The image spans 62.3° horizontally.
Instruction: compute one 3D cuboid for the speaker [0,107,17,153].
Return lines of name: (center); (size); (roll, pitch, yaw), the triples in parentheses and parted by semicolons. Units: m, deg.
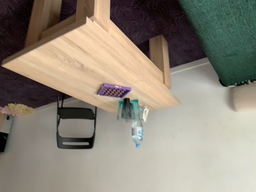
speaker: (-2.140, 0.580, 3.530); (0.300, 0.690, 0.300); (-13, 155, 28)
